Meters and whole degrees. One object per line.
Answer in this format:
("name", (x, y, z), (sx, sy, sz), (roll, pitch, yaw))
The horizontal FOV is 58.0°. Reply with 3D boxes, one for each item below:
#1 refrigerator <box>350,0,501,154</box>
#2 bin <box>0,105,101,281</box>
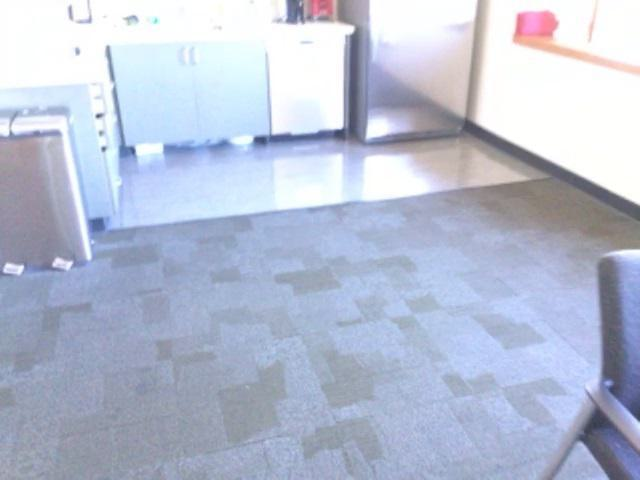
("refrigerator", (0.720, -1.590, 4.070), (0.850, 1.750, 0.620), (-10, 28, -15))
("bin", (-1.350, -0.220, 2.720), (0.460, 0.730, 0.240), (-10, 28, -15))
